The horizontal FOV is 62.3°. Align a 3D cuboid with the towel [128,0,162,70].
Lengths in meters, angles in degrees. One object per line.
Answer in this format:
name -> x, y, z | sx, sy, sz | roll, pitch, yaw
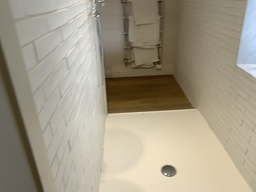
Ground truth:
towel -> 0.240, -0.930, 3.240 | 0.470, 1.060, 0.180 | -2, 26, -2
